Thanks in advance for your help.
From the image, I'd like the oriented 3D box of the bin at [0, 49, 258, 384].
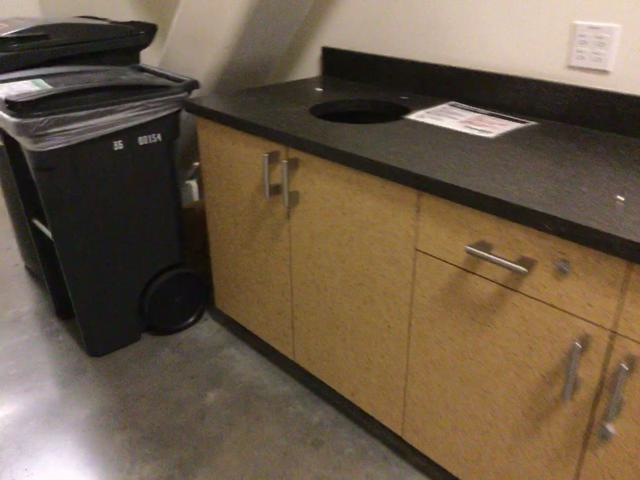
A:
[{"bbox_3d":[-0.750,-0.160,2.140,0.720,0.930,0.680,-22,33,-38],"label":"bin"}]
